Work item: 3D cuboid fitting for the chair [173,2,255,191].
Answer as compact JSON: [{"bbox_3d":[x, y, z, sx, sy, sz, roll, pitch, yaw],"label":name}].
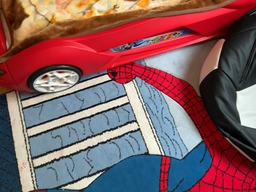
[{"bbox_3d":[0.810,-0.030,1.140,0.770,0.330,0.920,-17,72,-9],"label":"chair"}]
